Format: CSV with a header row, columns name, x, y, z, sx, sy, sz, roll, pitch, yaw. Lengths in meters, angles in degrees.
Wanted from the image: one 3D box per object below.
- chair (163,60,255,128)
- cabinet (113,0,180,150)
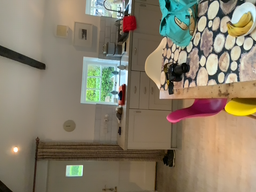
name,x,y,z,sx,sy,sz,roll,pitch,yaw
chair,0.790,0.000,1.960,0.450,0.780,0.510,180,94,-76
cabinet,0.320,-0.700,3.680,0.640,0.900,3.120,166,107,-75
